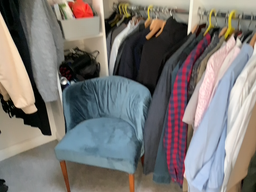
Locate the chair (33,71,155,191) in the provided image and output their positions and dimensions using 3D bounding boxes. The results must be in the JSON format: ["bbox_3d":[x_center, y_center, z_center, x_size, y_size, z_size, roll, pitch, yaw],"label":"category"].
[{"bbox_3d":[-0.140,0.260,1.380,0.550,0.660,0.530,5,28,12],"label":"chair"}]
